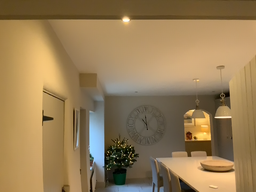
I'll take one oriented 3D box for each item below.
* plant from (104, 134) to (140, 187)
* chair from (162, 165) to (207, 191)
[{"bbox_3d":[-0.210,1.770,6.040,0.940,1.290,0.780,-1,-6,-6],"label":"plant"},{"bbox_3d":[0.790,1.520,2.950,0.470,0.980,0.440,-1,-6,-6],"label":"chair"}]
